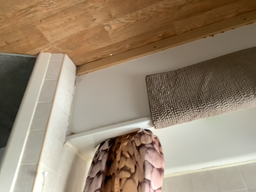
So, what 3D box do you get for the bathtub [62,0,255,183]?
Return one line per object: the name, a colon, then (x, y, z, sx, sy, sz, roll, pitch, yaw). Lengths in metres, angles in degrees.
bathtub: (0.530, -0.010, 1.220, 1.590, 0.530, 0.690, -19, 138, 17)
